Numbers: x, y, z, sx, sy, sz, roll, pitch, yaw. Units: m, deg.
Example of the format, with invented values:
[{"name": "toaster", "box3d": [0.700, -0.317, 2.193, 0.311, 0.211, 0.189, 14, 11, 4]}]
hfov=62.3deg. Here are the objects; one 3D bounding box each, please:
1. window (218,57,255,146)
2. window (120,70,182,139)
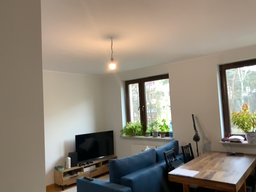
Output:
[{"name": "window", "box3d": [2.400, 0.080, 3.620, 1.420, 1.480, 0.510, -5, -4, 43]}, {"name": "window", "box3d": [0.500, 0.240, 5.240, 1.570, 1.530, 0.230, -5, -4, 39]}]
